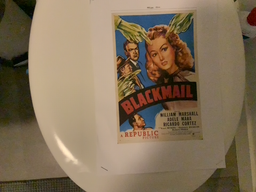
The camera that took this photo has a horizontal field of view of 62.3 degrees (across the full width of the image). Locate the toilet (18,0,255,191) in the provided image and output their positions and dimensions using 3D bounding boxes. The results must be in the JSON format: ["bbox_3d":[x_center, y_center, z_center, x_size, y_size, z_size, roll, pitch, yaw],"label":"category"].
[{"bbox_3d":[0.030,-0.060,0.520,0.380,0.430,0.550,-5,89,-3],"label":"toilet"}]
